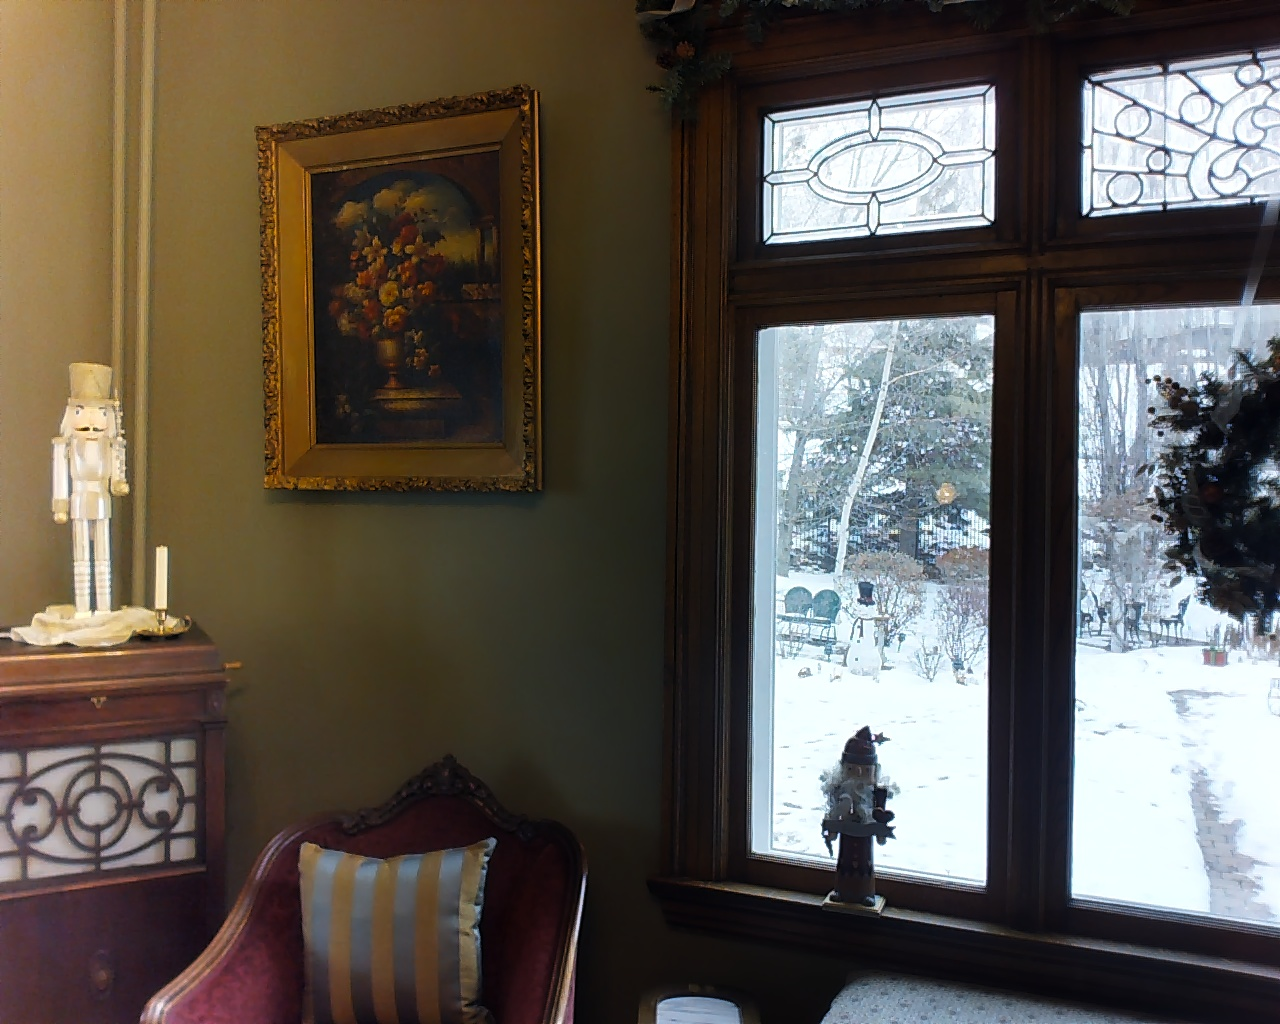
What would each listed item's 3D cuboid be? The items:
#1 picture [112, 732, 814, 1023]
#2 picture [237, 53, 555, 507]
[{"bbox_3d":[-0.530,1.050,2.600,1.889,0.840,0.140,1,0,23],"label":"picture"},{"bbox_3d":[-0.610,-0.520,2.630,0.820,1.010,0.150,1,0,23],"label":"picture"}]
